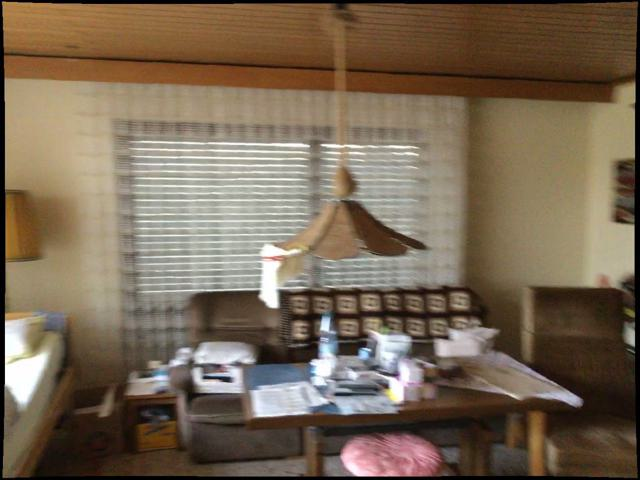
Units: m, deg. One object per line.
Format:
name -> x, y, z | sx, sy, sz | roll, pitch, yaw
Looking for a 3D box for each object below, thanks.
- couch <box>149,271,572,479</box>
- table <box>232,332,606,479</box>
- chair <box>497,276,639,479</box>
couch -> 0.180, 0.741, 3.650 | 2.338, 0.891, 1.080 | 0, 7, -12
table -> 0.400, 0.941, 2.830 | 1.588, 0.721, 0.800 | 0, 7, -12
chair -> 1.409, 0.791, 2.990 | 0.869, 1.001, 0.880 | 4, 8, 16
